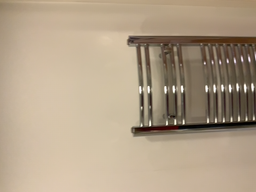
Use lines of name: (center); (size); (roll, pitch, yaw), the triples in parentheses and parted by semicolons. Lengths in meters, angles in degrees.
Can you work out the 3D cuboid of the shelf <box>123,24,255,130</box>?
shelf: (0.400, -0.090, 0.940); (0.030, 0.830, 0.440); (143, 125, -80)
